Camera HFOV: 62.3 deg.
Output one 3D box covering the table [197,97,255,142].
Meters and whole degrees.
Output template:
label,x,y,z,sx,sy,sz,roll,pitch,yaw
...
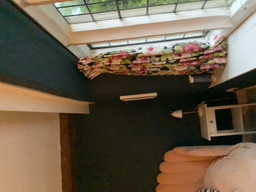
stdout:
label,x,y,z,sx,sy,sz,roll,pitch,yaw
table,1.360,0.310,2.860,0.310,0.710,0.520,43,-138,-85
